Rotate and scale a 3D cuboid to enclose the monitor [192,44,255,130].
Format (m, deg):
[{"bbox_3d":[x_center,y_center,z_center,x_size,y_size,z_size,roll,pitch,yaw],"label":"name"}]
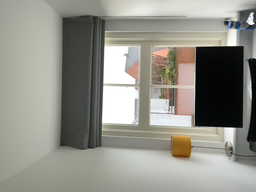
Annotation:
[{"bbox_3d":[0.650,-0.060,1.400,0.050,0.380,0.520,7,-90,-85],"label":"monitor"}]

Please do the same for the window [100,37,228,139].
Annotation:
[{"bbox_3d":[0.300,-0.080,1.910,0.250,1.040,0.830,-19,-69,-84],"label":"window"}]
